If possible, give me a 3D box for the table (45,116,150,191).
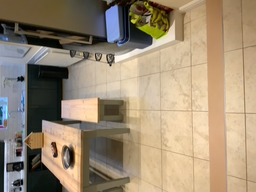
[{"bbox_3d":[-0.640,0.840,3.330,2.120,0.780,0.860,-1,89,56],"label":"table"}]
